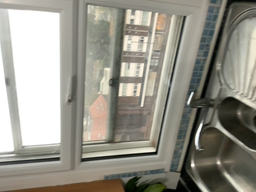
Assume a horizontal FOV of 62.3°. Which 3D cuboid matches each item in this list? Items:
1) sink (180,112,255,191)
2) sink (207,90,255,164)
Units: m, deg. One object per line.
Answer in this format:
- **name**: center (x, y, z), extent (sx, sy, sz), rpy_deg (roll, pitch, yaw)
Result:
- **sink**: center (0.540, 0.380, 1.080), extent (0.530, 0.240, 0.380), rpy_deg (-123, 36, -60)
- **sink**: center (0.570, 0.120, 0.970), extent (0.310, 0.210, 0.190), rpy_deg (-123, 36, -60)
